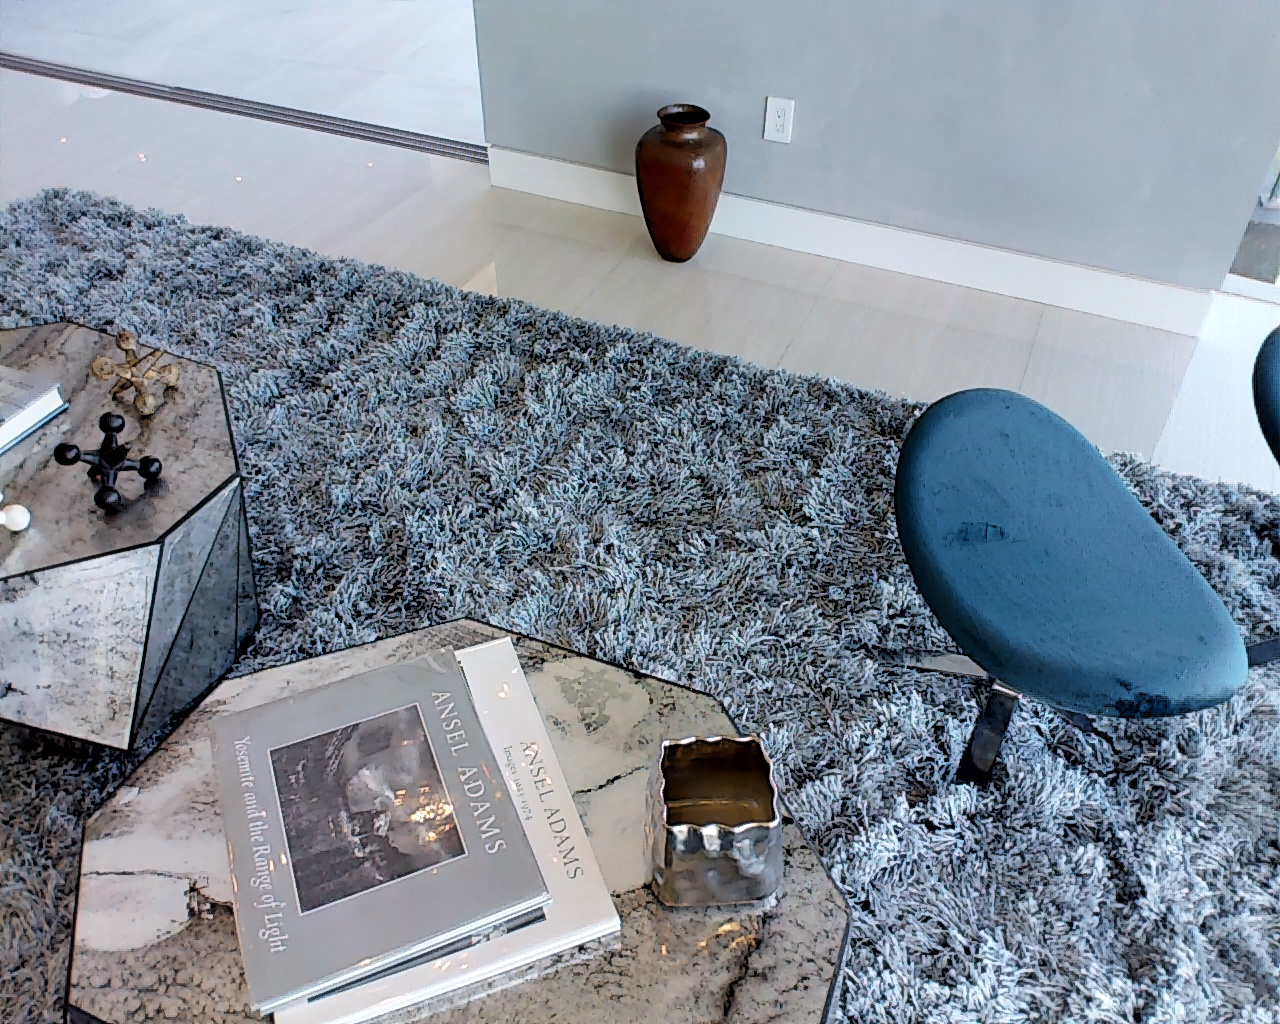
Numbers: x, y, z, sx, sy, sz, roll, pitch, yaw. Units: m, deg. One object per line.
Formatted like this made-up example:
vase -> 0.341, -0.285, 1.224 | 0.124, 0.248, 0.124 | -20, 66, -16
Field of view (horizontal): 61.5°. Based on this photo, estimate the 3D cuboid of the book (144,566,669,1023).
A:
book -> -0.290, 0.320, 1.260 | 0.480, 0.080, 0.490 | -17, 45, -18

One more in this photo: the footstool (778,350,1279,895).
footstool -> 0.620, 0.140, 1.790 | 0.570, 0.410, 0.770 | -5, 43, -7
